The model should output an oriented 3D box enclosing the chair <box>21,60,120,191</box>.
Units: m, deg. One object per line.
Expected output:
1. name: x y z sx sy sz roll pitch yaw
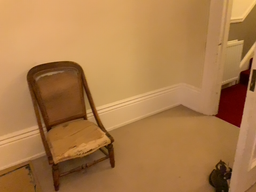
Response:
1. chair: -0.450 0.200 1.720 0.520 0.810 0.560 -16 27 -30
